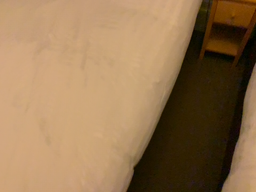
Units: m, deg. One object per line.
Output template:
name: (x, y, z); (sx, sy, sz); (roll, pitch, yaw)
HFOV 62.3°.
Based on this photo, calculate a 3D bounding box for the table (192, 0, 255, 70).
table: (0.710, -0.530, 1.510); (0.330, 0.540, 0.340); (19, 60, 17)
